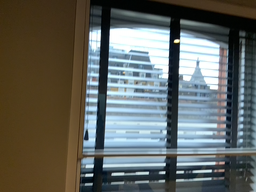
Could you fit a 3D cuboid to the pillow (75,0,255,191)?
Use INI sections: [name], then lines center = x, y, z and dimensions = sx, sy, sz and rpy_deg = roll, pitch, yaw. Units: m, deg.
[pillow]
center = 0.300, 0.350, 1.160
dimensions = 1.130, 1.640, 0.090
rpy_deg = 3, -2, -15
